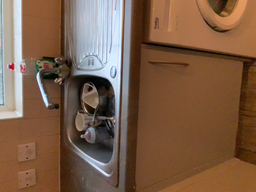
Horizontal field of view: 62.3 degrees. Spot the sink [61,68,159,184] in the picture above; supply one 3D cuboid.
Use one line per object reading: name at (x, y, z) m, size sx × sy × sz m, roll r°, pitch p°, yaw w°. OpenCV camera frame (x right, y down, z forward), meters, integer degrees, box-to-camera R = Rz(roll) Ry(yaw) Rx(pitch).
sink at (-0.120, 0.080, 0.980) m, size 0.510 × 0.190 × 0.400 m, roll 10°, pitch 100°, yaw 51°
